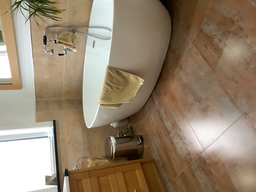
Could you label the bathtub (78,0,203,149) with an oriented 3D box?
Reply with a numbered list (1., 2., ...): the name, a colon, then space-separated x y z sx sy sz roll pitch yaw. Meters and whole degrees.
1. bathtub: -0.100 -0.280 2.250 1.810 0.570 0.830 113 147 -45
